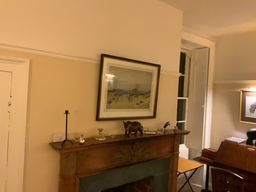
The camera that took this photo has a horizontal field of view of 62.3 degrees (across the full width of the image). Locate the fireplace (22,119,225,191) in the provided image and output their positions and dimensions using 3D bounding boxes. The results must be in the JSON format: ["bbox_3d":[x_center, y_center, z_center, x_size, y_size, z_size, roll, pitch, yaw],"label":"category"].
[{"bbox_3d":[-0.060,1.050,2.290,1.650,1.340,1.390,2,1,-41],"label":"fireplace"}]
